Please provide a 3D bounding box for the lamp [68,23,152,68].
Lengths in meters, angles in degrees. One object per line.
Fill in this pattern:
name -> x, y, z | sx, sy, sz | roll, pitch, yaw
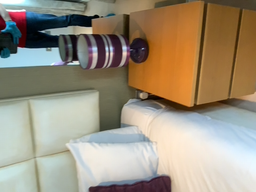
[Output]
lamp -> -0.090, -0.250, 1.040 | 0.210, 0.340, 0.180 | 26, 118, 55
